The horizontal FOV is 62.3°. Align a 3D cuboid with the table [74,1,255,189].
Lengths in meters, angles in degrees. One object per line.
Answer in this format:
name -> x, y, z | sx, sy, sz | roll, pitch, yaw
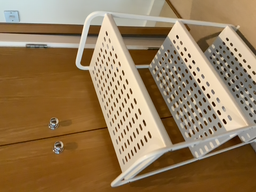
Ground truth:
table -> 0.270, -0.050, 1.010 | 0.620, 0.870, 0.360 | 67, 147, 29
